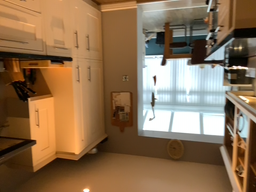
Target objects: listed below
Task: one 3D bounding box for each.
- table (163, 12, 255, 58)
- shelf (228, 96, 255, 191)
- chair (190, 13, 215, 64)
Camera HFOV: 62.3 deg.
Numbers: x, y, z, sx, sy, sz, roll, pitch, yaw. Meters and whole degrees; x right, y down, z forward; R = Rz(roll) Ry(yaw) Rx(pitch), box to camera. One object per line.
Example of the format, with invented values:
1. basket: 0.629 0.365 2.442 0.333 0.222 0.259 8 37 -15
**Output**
1. table: 1.830 -1.260 4.630 1.950 0.770 0.940 2 -172 19
2. shelf: 1.140 0.460 1.830 0.400 0.850 0.470 2 -172 18
3. chair: 1.550 -1.150 4.430 0.440 0.930 0.630 2 -171 19
